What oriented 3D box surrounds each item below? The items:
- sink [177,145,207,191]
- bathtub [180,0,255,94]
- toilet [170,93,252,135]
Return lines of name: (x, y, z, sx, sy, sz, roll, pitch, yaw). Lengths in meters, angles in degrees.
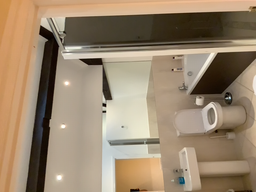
sink: (0.830, 0.970, 2.820, 0.440, 0.180, 0.550, 90, 177, -68)
bathtub: (1.220, -0.690, 2.870, 1.650, 0.570, 0.710, 90, 177, -67)
toilet: (1.110, 0.280, 3.000, 0.630, 0.860, 0.390, 90, 177, -68)
